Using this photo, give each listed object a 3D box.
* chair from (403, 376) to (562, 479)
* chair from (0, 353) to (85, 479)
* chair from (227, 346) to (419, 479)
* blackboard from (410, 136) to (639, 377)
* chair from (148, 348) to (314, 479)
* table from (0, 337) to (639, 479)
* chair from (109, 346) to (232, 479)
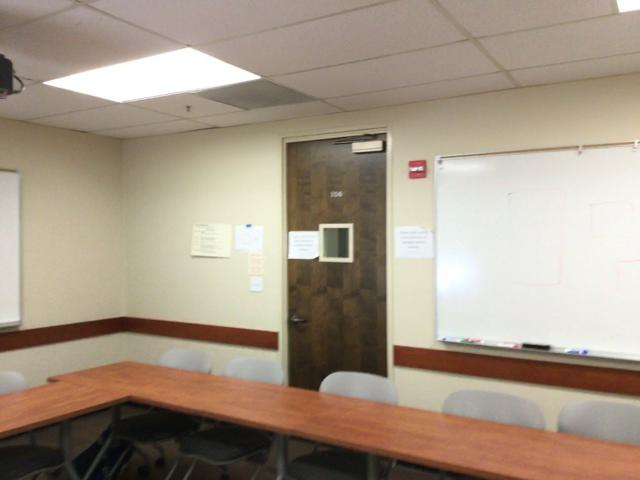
[{"bbox_3d":[0.720,1.090,2.510,0.530,0.800,0.610,1,1,29],"label":"chair"},{"bbox_3d":[-1.550,1.070,2.880,0.550,0.870,0.460,1,1,30],"label":"chair"},{"bbox_3d":[0.030,1.040,2.850,0.710,0.850,0.660,1,1,29],"label":"chair"},{"bbox_3d":[1.720,0.080,3.040,2.420,1.180,0.530,1,1,29],"label":"blackboard"},{"bbox_3d":[-0.480,1.080,3.170,0.710,0.800,0.550,1,1,29],"label":"chair"},{"bbox_3d":[-0.480,1.150,1.880,3.580,0.870,2.790,1,1,29],"label":"table"},{"bbox_3d":[-0.850,1.070,3.310,0.490,0.800,0.470,1,1,29],"label":"chair"}]
